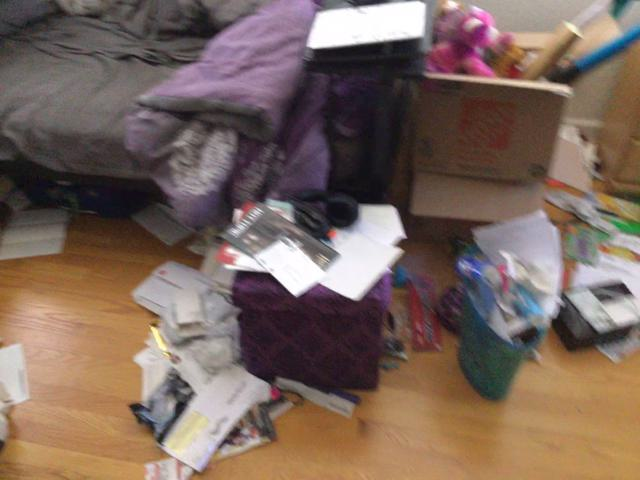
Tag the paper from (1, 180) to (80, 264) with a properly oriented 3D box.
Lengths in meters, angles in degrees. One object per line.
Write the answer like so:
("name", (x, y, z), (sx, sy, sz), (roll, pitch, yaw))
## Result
("paper", (-1.030, -0.080, 2.150), (0.240, 0.050, 0.420), (-12, 38, -15))
